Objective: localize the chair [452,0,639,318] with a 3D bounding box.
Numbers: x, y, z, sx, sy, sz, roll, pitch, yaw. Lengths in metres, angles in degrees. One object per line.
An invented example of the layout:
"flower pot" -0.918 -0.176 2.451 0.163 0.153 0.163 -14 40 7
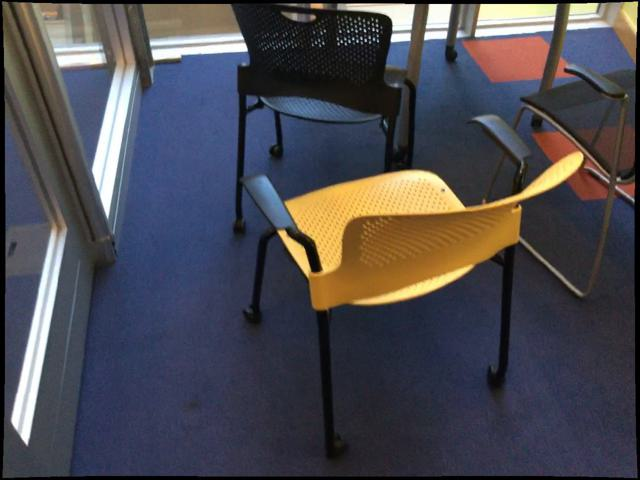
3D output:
"chair" 0.929 -0.330 1.750 0.699 0.750 0.640 -13 46 -14

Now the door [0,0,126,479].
"door" -0.669 0.010 1.260 0.170 0.920 0.840 -4 44 -5

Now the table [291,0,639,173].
"table" 0.499 -0.921 2.400 1.079 0.680 1.081 5 44 4

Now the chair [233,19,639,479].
"chair" 0.160 0.020 1.340 0.540 0.760 0.630 -11 45 -12
